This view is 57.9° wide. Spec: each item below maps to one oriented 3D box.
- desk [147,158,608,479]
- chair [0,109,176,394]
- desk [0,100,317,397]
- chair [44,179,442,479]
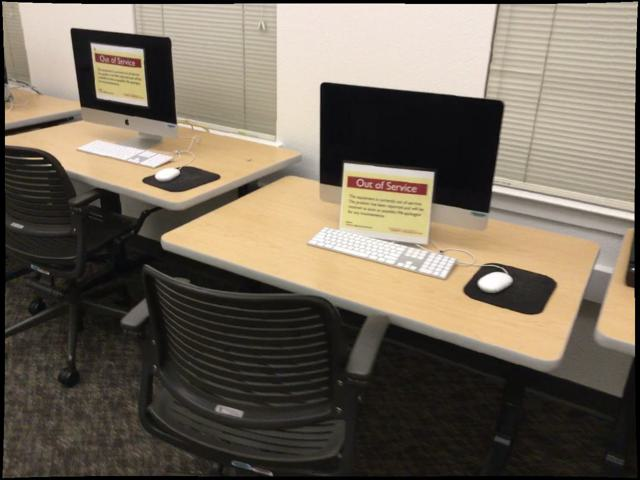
[{"bbox_3d":[0.180,0.290,1.890,1.169,0.761,0.770,15,27,25],"label":"desk"},{"bbox_3d":[-1.009,0.000,2.260,0.600,0.851,0.560,15,27,25],"label":"chair"},{"bbox_3d":[-0.749,-0.070,2.520,1.199,0.791,0.810,15,27,25],"label":"desk"},{"bbox_3d":[-0.150,0.400,1.470,0.650,0.871,0.610,14,27,24],"label":"chair"}]
